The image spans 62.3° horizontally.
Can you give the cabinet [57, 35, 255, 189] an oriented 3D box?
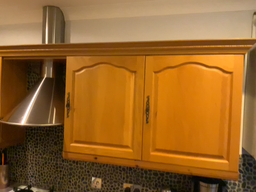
[{"bbox_3d":[0.170,0.060,1.530,1.310,0.870,0.320,3,1,17],"label":"cabinet"}]
